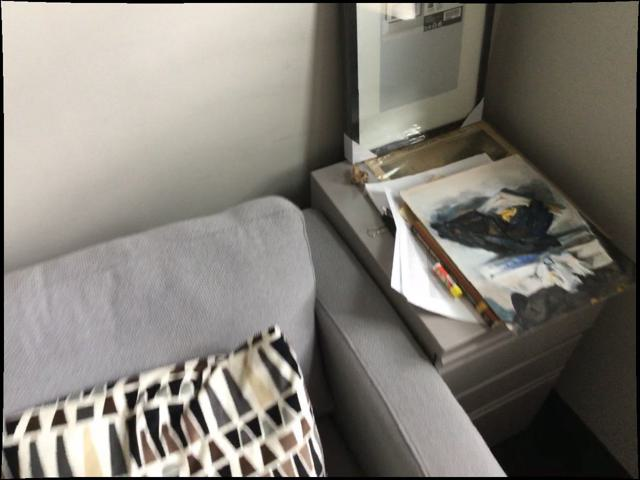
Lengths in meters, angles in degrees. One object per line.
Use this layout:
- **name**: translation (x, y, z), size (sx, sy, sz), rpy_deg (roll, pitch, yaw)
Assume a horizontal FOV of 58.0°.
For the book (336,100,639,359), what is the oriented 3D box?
- **book**: translation (0.299, -0.060, 1.070), size (0.349, 0.030, 0.500), rpy_deg (-22, 53, -15)
